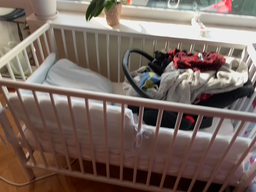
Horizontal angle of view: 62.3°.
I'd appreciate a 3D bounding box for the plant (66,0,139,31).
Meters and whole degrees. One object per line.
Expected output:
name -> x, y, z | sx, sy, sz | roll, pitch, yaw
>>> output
plant -> -0.150, -0.720, 1.370 | 0.450, 0.470, 0.300 | 3, 40, -1
